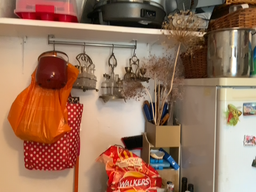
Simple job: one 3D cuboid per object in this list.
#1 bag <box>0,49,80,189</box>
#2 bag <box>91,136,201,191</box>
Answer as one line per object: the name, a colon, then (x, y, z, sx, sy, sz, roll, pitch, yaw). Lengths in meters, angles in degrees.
bag: (-0.460, 0.110, 1.180, 0.370, 0.680, 0.240, 0, 3, -13)
bag: (0.040, 0.510, 1.180, 0.470, 0.430, 0.540, 0, 3, -12)
